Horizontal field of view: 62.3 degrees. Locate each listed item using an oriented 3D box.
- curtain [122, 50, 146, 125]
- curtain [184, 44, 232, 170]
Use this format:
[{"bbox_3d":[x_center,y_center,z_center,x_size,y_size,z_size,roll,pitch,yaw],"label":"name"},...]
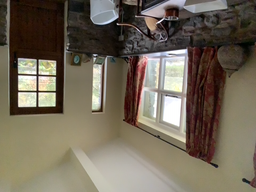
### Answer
[{"bbox_3d":[0.100,-0.150,3.810,0.220,1.280,0.330,0,-173,-26],"label":"curtain"},{"bbox_3d":[0.840,0.110,2.280,0.160,1.260,0.350,0,-173,-26],"label":"curtain"}]
